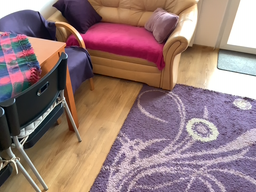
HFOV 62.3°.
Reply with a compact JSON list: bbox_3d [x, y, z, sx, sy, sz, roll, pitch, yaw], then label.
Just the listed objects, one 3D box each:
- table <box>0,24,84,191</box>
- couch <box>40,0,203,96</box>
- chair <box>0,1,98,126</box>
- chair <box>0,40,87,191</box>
[{"bbox_3d":[-0.890,0.230,1.150,0.710,0.760,1.210,15,42,14],"label":"table"},{"bbox_3d":[0.000,-0.760,2.240,1.380,0.890,0.880,13,42,14],"label":"couch"},{"bbox_3d":[-0.680,-0.290,1.780,0.590,0.740,0.580,17,42,17],"label":"chair"},{"bbox_3d":[-0.600,0.140,1.270,0.460,0.750,0.430,14,42,16],"label":"chair"}]
